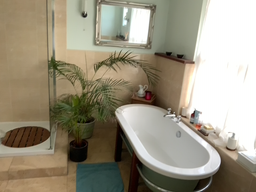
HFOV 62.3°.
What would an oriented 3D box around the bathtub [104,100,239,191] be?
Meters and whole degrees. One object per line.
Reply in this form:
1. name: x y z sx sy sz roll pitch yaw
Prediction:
1. bathtub: 0.290 0.620 2.560 0.810 0.610 1.710 -1 18 -18
